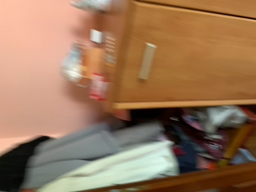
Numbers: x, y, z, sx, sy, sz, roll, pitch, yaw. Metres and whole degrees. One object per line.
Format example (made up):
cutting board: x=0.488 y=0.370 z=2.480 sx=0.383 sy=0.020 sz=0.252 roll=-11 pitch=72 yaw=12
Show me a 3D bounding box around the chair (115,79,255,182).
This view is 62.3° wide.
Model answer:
chair: x=0.460 y=0.160 z=1.410 sx=0.520 sy=0.940 sz=0.360 roll=-125 pitch=39 yaw=-55
